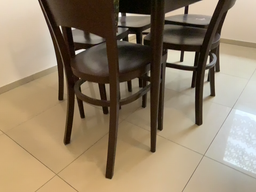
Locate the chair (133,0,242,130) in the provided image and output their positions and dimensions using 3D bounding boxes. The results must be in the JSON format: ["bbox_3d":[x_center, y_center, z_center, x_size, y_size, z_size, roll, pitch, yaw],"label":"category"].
[{"bbox_3d":[0.340,-0.290,1.260,0.480,0.780,0.420,14,34,24],"label":"chair"}]

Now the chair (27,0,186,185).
[{"bbox_3d":[-0.060,-0.100,0.970,0.370,0.760,0.480,26,40,37],"label":"chair"}]
